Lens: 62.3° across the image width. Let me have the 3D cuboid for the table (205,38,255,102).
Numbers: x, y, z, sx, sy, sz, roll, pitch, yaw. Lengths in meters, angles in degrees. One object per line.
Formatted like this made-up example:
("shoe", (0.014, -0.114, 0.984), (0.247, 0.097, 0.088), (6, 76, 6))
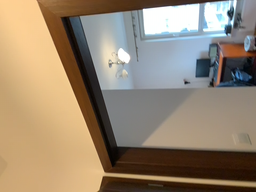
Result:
("table", (2.260, -0.560, 4.810), (0.690, 0.780, 1.220), (-78, -18, -49))
